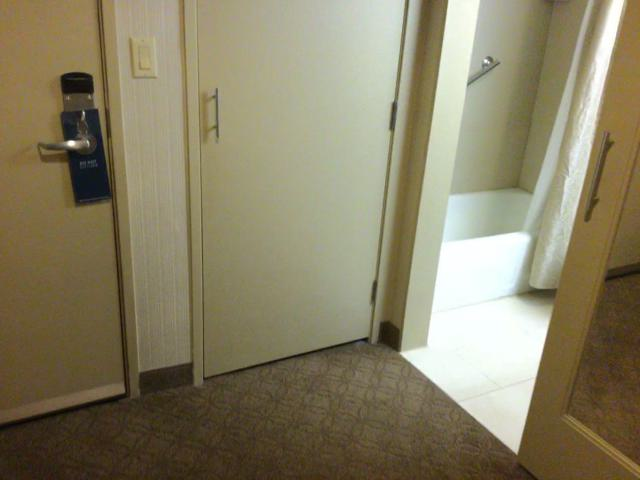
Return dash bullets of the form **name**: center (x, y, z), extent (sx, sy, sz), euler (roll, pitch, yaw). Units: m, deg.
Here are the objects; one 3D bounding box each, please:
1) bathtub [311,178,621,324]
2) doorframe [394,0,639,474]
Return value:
- **bathtub**: center (0.800, -0.010, 3.250), extent (1.510, 0.410, 0.760), euler (-7, 22, -25)
- **doorframe**: center (0.620, -0.120, 1.990), extent (0.160, 1.510, 0.910), euler (-8, 23, -24)
